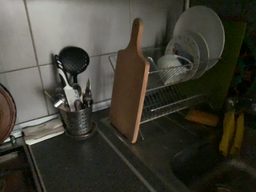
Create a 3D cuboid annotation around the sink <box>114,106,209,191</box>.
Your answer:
[{"bbox_3d":[0.130,0.210,0.840,0.310,0.210,0.180,-17,30,-29],"label":"sink"}]

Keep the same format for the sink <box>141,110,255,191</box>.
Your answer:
[{"bbox_3d":[0.360,0.290,0.660,0.480,0.210,0.420,-17,30,-29],"label":"sink"}]
